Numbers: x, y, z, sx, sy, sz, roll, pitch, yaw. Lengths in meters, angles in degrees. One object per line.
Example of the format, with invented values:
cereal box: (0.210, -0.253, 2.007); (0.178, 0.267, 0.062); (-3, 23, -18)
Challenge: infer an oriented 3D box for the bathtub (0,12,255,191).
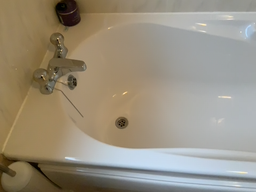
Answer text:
bathtub: (0.530, 0.100, 0.900); (1.710, 0.540, 0.710); (3, 56, 8)
